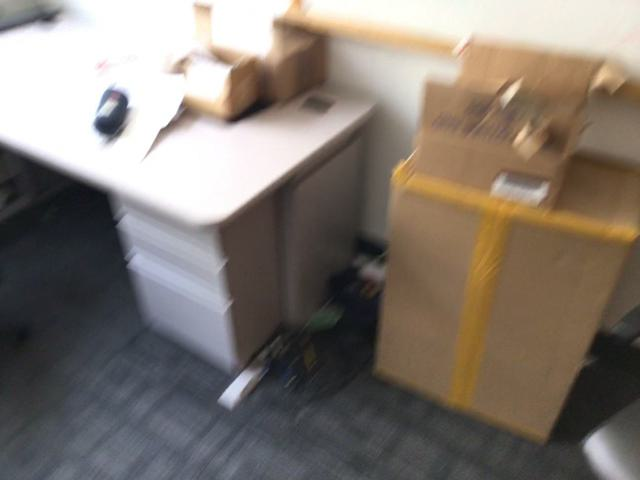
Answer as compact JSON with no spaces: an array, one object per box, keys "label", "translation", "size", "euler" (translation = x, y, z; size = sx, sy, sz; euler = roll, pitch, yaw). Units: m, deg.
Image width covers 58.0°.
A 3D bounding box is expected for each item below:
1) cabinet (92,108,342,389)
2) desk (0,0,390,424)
[{"label":"cabinet","translation":[-0.280,0.000,1.820],"size":[0.440,0.560,0.570],"euler":[22,42,25]},{"label":"desk","translation":[-0.670,-0.250,1.940],"size":[1.550,0.730,0.780],"euler":[22,42,25]}]
